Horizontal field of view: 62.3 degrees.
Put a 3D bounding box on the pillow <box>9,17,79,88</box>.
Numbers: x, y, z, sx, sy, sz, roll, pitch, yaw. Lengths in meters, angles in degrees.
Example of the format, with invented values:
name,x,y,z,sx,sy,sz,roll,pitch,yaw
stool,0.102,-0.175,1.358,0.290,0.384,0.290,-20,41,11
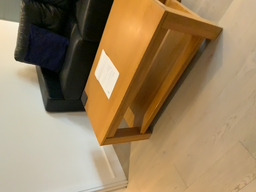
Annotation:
name,x,y,z,sx,sy,sz,roll,pitch,yaw
pillow,-0.910,-0.470,2.360,0.290,0.490,0.560,58,170,42

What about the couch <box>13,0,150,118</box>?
name,x,y,z,sx,sy,sz,roll,pitch,yaw
couch,-0.540,-0.820,2.070,1.020,0.830,1.900,60,136,37
